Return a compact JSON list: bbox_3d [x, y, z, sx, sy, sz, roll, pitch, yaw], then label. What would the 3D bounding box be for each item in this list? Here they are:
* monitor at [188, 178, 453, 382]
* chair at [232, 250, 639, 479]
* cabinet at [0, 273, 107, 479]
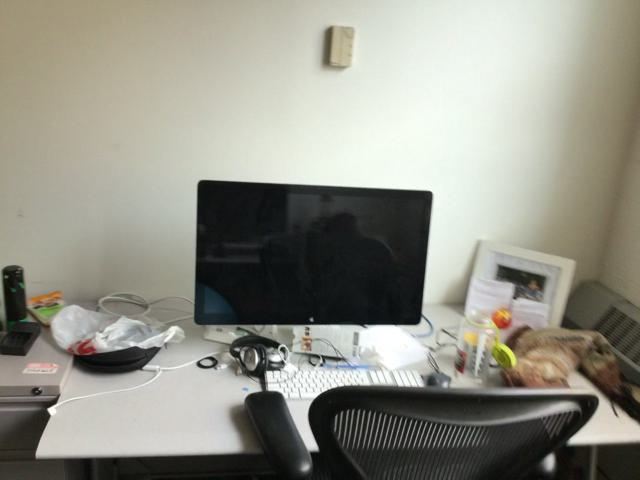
[{"bbox_3d":[-0.020,0.110,1.530,0.620,0.470,0.210,3,18,-14],"label":"monitor"},{"bbox_3d":[0.170,0.600,1.360,0.670,0.950,0.690,3,18,-14],"label":"chair"},{"bbox_3d":[-0.850,0.530,1.600,0.420,0.730,0.530,3,18,-14],"label":"cabinet"}]
